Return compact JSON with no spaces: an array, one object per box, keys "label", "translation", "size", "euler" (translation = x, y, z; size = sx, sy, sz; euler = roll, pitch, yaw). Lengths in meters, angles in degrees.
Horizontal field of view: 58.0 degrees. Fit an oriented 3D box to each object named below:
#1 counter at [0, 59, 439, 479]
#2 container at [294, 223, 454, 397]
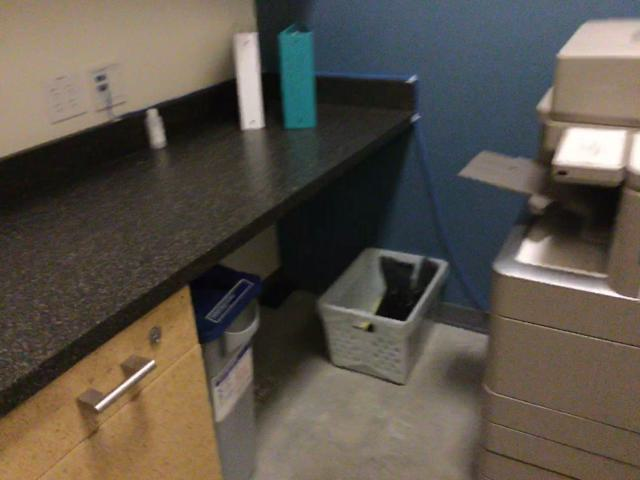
[{"label":"counter","translation":[-0.840,0.260,0.600],"size":[0.690,0.310,3.860],"euler":[12,28,27]},{"label":"container","translation":[0.210,0.230,2.130],"size":[0.420,0.380,0.450],"euler":[12,28,27]}]
